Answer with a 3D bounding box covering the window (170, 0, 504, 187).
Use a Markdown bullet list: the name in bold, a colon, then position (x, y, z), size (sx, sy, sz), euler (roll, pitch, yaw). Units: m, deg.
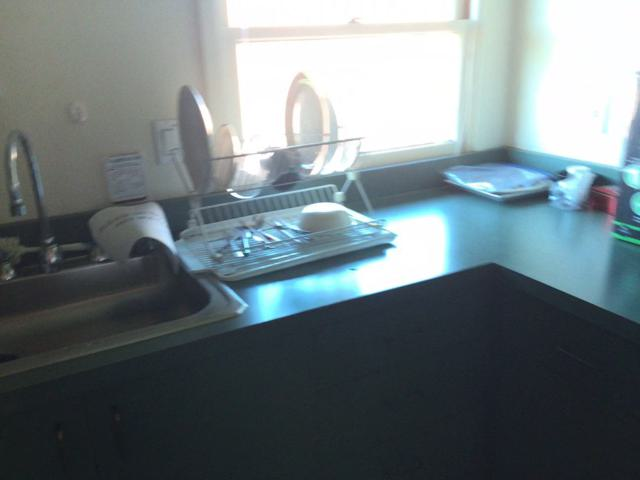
- **window**: position (0.090, -0.520, 1.700), size (0.980, 0.600, 0.190), euler (-9, 18, -25)
